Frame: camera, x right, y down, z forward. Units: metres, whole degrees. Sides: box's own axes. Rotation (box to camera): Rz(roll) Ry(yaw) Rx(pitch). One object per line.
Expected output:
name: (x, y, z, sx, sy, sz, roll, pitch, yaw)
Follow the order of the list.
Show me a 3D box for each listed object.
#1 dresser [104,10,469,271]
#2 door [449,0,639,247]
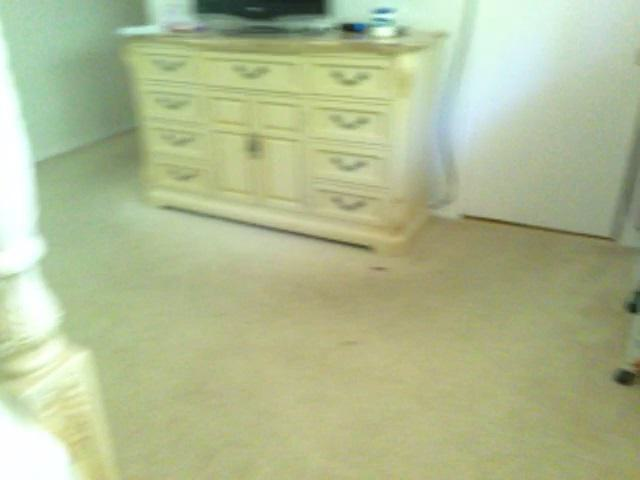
dresser: (-0.170, -0.560, 2.990, 1.670, 1.090, 0.480, 9, 29, 17)
door: (1.070, -0.940, 2.530, 0.860, 1.910, 0.190, 12, 30, 27)
